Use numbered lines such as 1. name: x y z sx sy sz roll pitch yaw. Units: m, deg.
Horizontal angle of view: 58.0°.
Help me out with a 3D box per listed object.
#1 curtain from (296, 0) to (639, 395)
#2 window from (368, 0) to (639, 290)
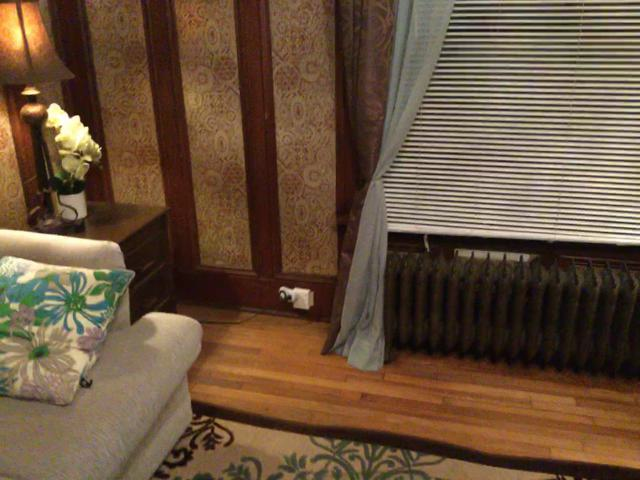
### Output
1. curtain: 0.890 -0.500 2.020 1.890 2.120 0.320 1 18 15
2. window: 0.860 -0.640 2.070 1.350 1.660 0.180 1 18 15
